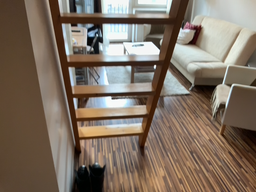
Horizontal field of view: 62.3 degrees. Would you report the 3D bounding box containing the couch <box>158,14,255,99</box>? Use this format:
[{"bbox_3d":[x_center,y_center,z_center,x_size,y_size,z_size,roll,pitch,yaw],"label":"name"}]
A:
[{"bbox_3d":[1.330,-0.840,3.820,1.020,0.920,1.950,-2,28,-8],"label":"couch"}]

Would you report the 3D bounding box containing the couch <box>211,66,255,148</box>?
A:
[{"bbox_3d":[1.360,0.110,2.380,0.660,0.620,0.660,13,30,18],"label":"couch"}]
